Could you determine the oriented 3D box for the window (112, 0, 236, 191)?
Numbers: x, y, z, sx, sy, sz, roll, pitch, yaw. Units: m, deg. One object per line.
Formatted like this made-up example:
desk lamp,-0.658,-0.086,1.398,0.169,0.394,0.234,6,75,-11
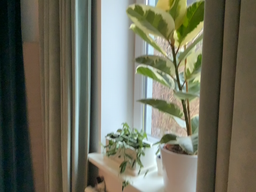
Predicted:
window,0.200,-0.410,1.180,0.200,1.690,0.690,-3,8,-37
